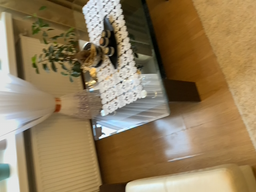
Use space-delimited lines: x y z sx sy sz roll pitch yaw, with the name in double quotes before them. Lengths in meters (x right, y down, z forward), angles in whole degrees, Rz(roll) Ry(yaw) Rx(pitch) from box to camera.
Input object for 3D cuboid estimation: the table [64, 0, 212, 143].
"table" 0.000 -0.350 1.660 0.770 0.500 1.230 -26 71 41
